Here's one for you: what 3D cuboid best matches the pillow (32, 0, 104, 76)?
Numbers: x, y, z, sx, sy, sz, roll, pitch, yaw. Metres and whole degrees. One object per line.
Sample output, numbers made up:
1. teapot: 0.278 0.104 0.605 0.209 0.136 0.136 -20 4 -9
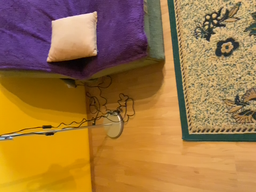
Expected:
1. pillow: -0.360 -0.400 1.400 0.230 0.350 0.370 -15 121 13
